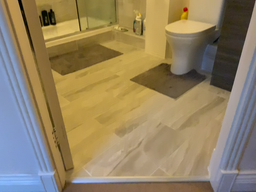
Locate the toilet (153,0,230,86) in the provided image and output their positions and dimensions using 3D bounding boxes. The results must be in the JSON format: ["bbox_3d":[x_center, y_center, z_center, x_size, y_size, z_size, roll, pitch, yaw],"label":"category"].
[{"bbox_3d":[0.580,-0.590,1.980,0.380,0.760,0.550,28,42,37],"label":"toilet"}]
